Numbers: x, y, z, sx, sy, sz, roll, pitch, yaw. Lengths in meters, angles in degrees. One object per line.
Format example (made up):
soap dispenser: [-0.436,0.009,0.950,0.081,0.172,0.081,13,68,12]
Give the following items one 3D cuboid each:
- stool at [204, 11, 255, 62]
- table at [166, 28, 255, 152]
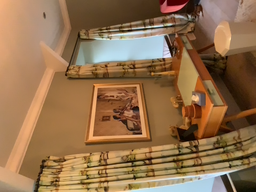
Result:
stool: [1.130,-0.630,2.240,0.380,0.460,0.360,-95,2,-48]
table: [1.010,-0.160,2.620,1.420,0.740,0.750,-95,2,-48]
